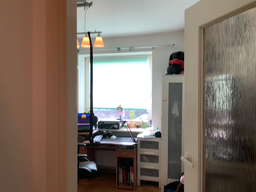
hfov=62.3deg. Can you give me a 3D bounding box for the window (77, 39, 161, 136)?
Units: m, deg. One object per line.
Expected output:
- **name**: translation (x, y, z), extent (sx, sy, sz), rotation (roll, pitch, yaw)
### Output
- **window**: translation (-0.220, -0.170, 4.250), extent (1.720, 1.840, 0.080), rotation (1, 1, 14)
